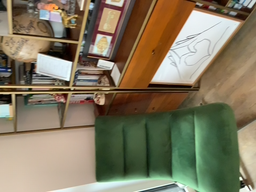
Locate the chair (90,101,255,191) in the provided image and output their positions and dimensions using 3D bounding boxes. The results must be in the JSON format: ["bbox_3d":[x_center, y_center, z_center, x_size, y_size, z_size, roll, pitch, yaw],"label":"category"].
[{"bbox_3d":[0.310,0.350,1.460,0.800,0.920,0.550,-15,76,63],"label":"chair"}]
